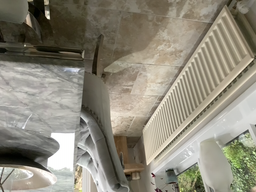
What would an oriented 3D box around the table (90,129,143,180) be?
[{"bbox_3d":[-0.200,0.840,3.010,0.610,0.510,0.630,3,146,-15],"label":"table"}]
